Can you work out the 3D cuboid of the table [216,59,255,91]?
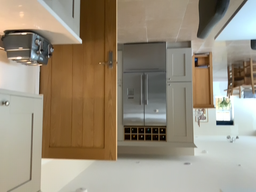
[{"bbox_3d":[3.560,-0.610,6.790,0.930,0.750,1.590,0,176,5],"label":"table"}]

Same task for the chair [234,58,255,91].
[{"bbox_3d":[3.410,-0.600,6.110,0.490,0.880,0.440,0,176,4],"label":"chair"}]
